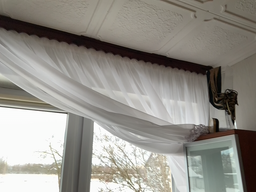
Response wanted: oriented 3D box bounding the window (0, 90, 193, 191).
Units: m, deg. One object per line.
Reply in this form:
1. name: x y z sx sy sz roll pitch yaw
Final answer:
1. window: -0.450 0.760 1.510 1.860 1.390 0.520 8 -21 -22
